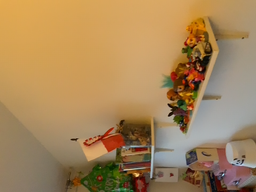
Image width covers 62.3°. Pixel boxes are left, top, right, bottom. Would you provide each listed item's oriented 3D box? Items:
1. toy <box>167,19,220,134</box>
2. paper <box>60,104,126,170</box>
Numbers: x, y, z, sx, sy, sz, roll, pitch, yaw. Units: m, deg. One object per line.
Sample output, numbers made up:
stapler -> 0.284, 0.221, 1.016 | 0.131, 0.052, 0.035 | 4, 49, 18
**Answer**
toy -> 0.250, -0.040, 0.920 | 0.550, 0.100, 0.170 | 85, -173, -53
paper -> -0.170, 0.220, 1.170 | 0.180, 0.290, 0.300 | 86, -174, -49
